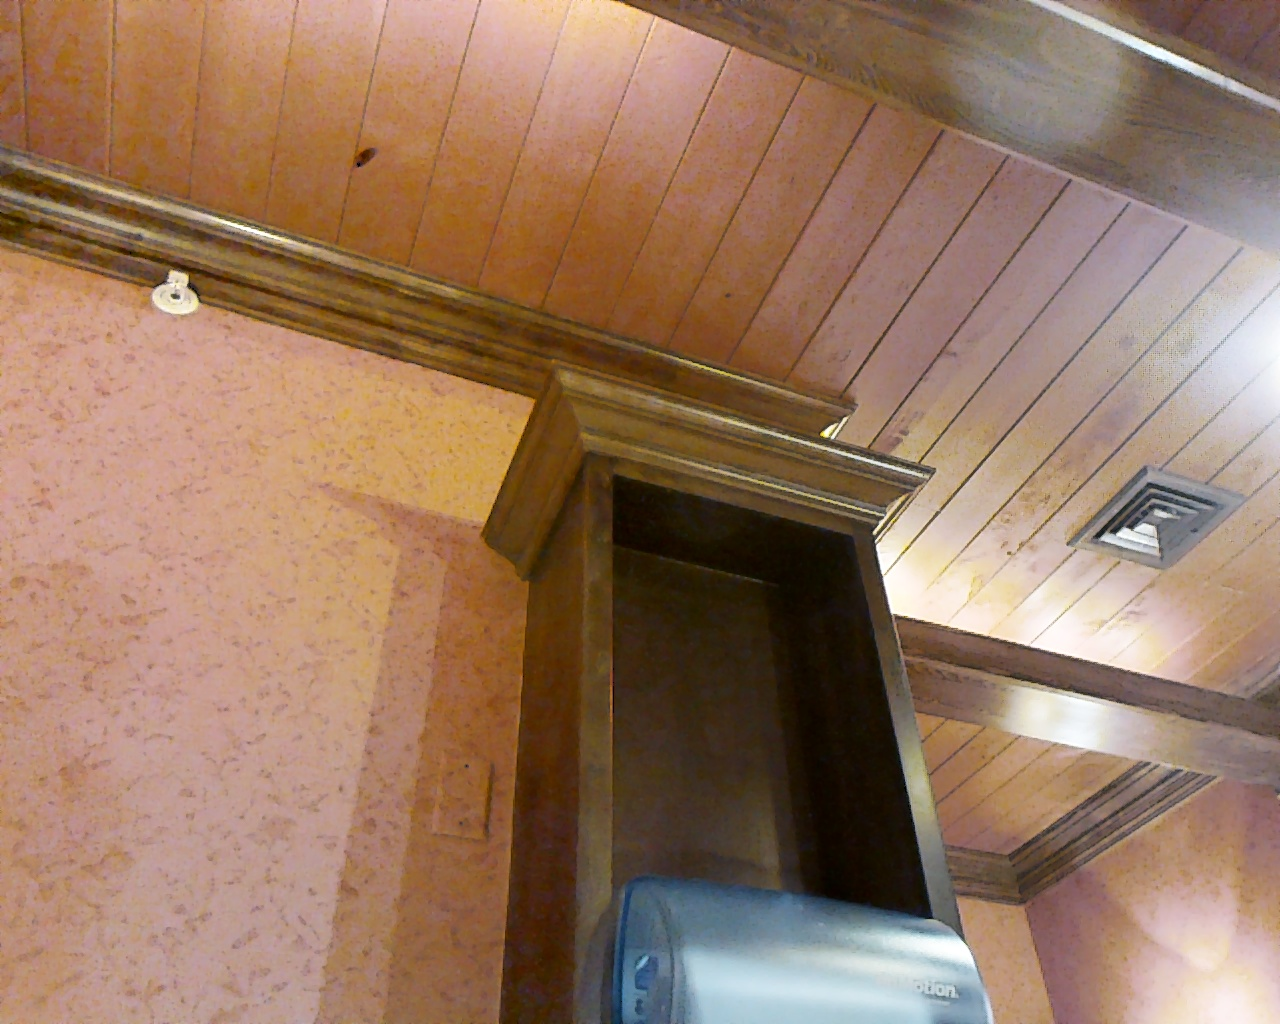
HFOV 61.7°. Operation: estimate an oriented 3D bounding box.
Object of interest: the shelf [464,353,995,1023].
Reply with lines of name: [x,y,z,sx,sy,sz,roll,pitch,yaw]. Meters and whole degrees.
shelf: [0.090,0.490,1.270,0.510,1.560,0.300,16,-45,-17]
